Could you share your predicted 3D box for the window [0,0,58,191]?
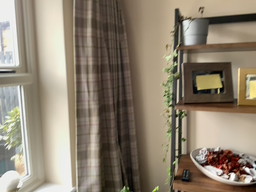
[{"bbox_3d":[-0.620,-0.200,0.990,0.140,1.640,0.550,2,8,20],"label":"window"}]
